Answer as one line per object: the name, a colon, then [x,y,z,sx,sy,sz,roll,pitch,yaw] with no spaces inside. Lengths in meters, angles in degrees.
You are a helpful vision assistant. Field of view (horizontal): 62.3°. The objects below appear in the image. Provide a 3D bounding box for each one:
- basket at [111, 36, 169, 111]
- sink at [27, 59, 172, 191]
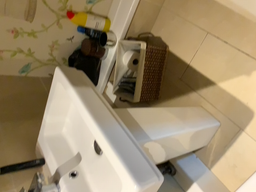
basket: [0.070,-0.150,1.370,0.240,0.190,0.420,24,109,46]
sink: [-0.170,0.200,0.730,0.530,0.140,0.430,48,125,37]
